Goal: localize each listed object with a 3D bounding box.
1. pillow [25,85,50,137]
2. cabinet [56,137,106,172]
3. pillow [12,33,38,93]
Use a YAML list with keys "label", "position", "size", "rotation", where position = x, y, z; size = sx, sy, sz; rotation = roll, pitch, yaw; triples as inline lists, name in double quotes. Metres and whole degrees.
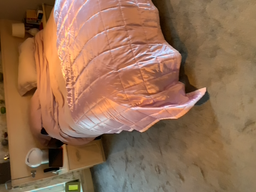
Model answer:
- label: "pillow"
  position: [-1.220, 0.200, 2.820]
  size: [0.420, 0.190, 0.570]
  rotation: [-37, 62, 52]
- label: "cabinet"
  position: [-0.660, 0.810, 2.920]
  size: [0.510, 0.500, 0.320]
  rotation: [-34, 64, 52]
- label: "pillow"
  position: [-1.480, -0.460, 3.030]
  size: [0.390, 0.240, 0.730]
  rotation: [-35, 63, 52]
